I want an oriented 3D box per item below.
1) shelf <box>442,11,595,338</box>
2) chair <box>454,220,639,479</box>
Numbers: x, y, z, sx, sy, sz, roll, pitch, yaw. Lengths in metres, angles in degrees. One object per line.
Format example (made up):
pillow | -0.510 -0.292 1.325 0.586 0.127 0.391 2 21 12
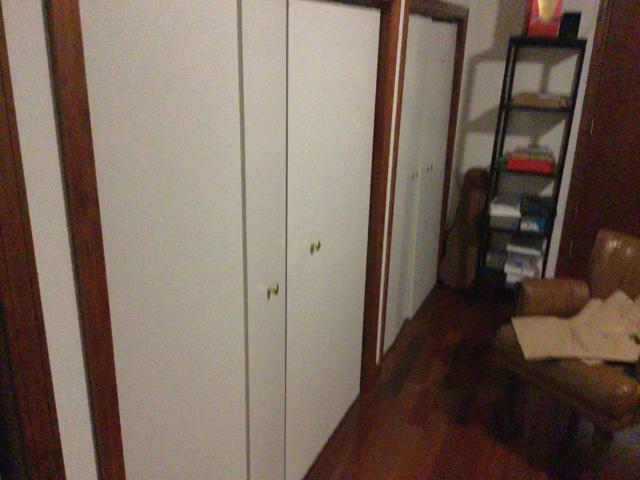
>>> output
shelf | 1.090 -0.370 3.220 0.610 1.630 0.580 7 20 25
chair | 1.050 0.460 2.180 0.760 0.830 0.750 -7 19 -15
